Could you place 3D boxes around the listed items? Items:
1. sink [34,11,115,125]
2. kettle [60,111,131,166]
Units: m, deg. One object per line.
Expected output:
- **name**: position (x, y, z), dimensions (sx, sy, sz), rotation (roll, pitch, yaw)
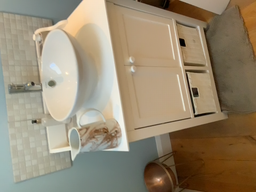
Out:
- **sink**: position (-0.280, -0.090, 1.000), dimensions (0.450, 0.140, 0.400), rotation (-17, 81, 50)
- **kettle**: position (-0.130, 0.160, 0.840), dimensions (0.150, 0.210, 0.160), rotation (-16, 81, 50)
